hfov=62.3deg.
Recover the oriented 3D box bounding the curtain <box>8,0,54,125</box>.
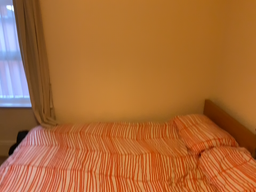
[{"bbox_3d":[-1.020,-0.700,2.200,0.300,2.130,0.130,0,18,-5],"label":"curtain"}]
